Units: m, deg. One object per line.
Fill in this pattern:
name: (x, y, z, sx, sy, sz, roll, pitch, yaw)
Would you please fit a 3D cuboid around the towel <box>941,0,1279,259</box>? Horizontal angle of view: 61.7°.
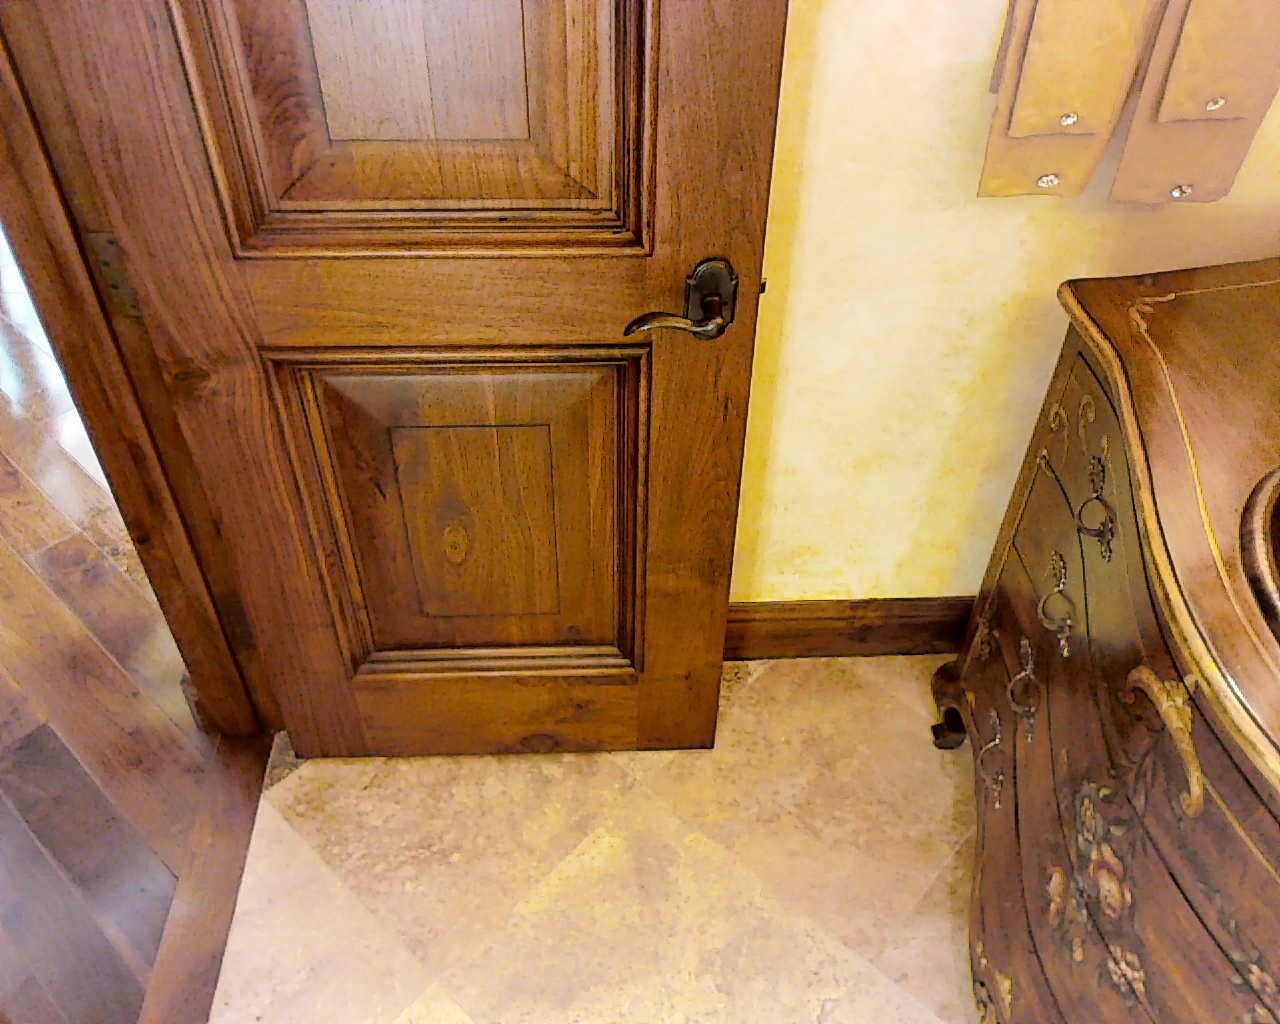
towel: (0.600, -0.500, 1.250, 0.400, 0.400, 0.090, -2, 43, -2)
